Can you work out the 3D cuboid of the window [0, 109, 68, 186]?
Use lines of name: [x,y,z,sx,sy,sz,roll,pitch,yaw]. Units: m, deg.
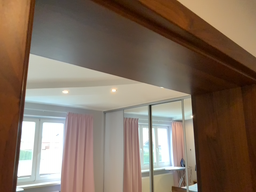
window: [-2.410,1.050,4.420,2.250,1.470,0.320,10,-15,-41]
